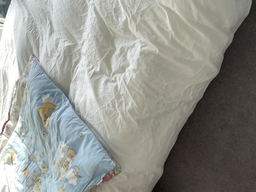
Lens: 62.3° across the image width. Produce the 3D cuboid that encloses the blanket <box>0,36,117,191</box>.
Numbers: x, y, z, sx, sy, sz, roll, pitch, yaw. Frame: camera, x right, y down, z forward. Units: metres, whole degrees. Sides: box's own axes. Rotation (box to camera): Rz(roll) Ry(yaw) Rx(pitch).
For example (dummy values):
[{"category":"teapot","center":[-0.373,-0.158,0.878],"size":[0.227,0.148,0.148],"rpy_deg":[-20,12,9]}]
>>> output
[{"category":"blanket","center":[-0.660,0.430,1.320],"size":[0.980,0.130,1.280],"rpy_deg":[40,114,34]}]
